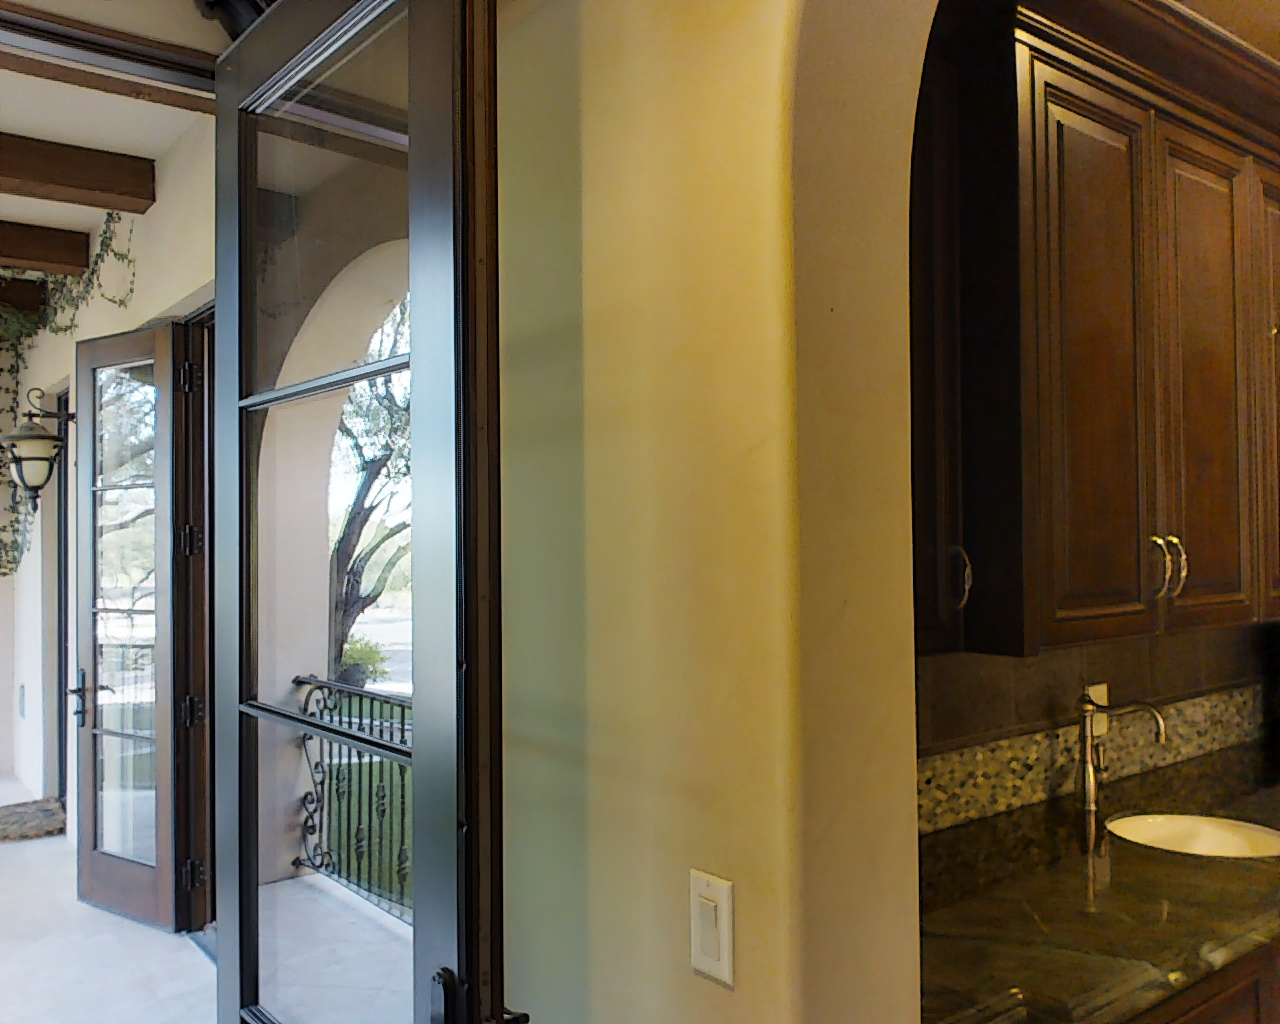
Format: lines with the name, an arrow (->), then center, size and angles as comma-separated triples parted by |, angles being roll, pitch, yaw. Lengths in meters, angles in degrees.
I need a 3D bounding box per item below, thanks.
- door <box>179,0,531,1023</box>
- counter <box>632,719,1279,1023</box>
door -> -0.470, 0.350, 1.580 | 0.170, 2.420, 0.890 | 0, -1, -37
counter -> 1.180, 0.650, 2.240 | 2.510, 0.080, 0.640 | 0, -1, -37
